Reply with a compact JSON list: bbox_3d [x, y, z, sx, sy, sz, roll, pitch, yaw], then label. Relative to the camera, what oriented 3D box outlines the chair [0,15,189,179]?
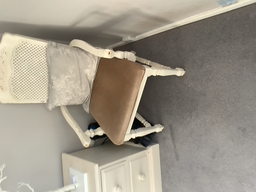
[{"bbox_3d":[-0.260,-0.080,1.370,0.730,0.980,0.530,35,117,38],"label":"chair"}]
